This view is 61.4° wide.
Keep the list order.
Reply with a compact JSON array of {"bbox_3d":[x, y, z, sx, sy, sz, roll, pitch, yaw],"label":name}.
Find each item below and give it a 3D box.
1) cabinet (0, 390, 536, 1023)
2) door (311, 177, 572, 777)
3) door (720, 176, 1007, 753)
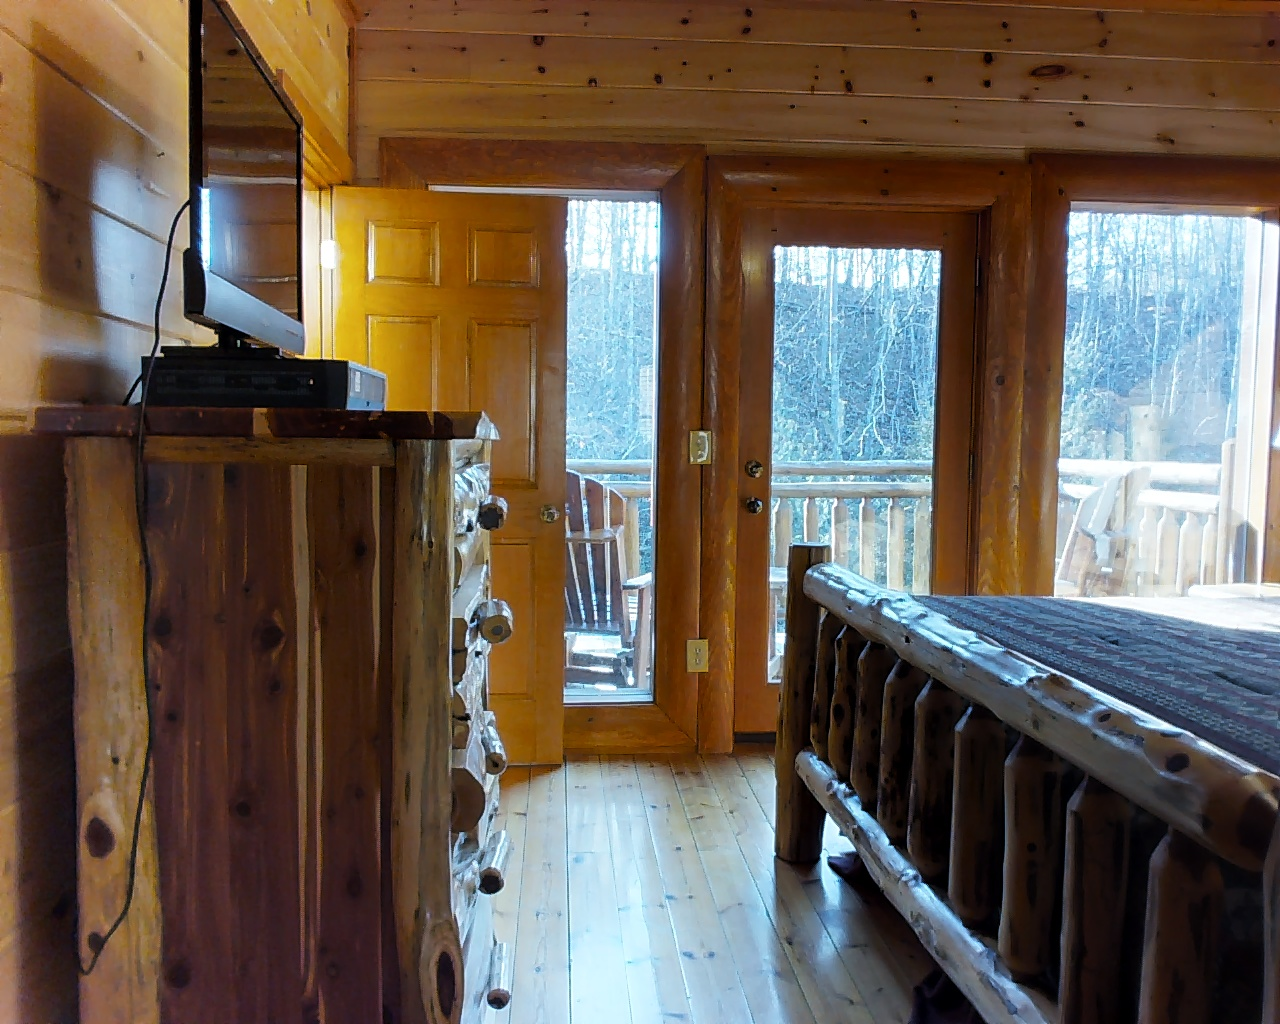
[{"bbox_3d":[-0.540,0.420,1.960,0.660,1.230,0.970,-1,4,-5],"label":"cabinet"},{"bbox_3d":[-0.680,-0.110,3.780,0.850,2.071,0.050,-1,4,-6],"label":"door"},{"bbox_3d":[0.840,-0.170,4.090,1.040,2.121,0.180,-1,4,-4],"label":"door"}]
